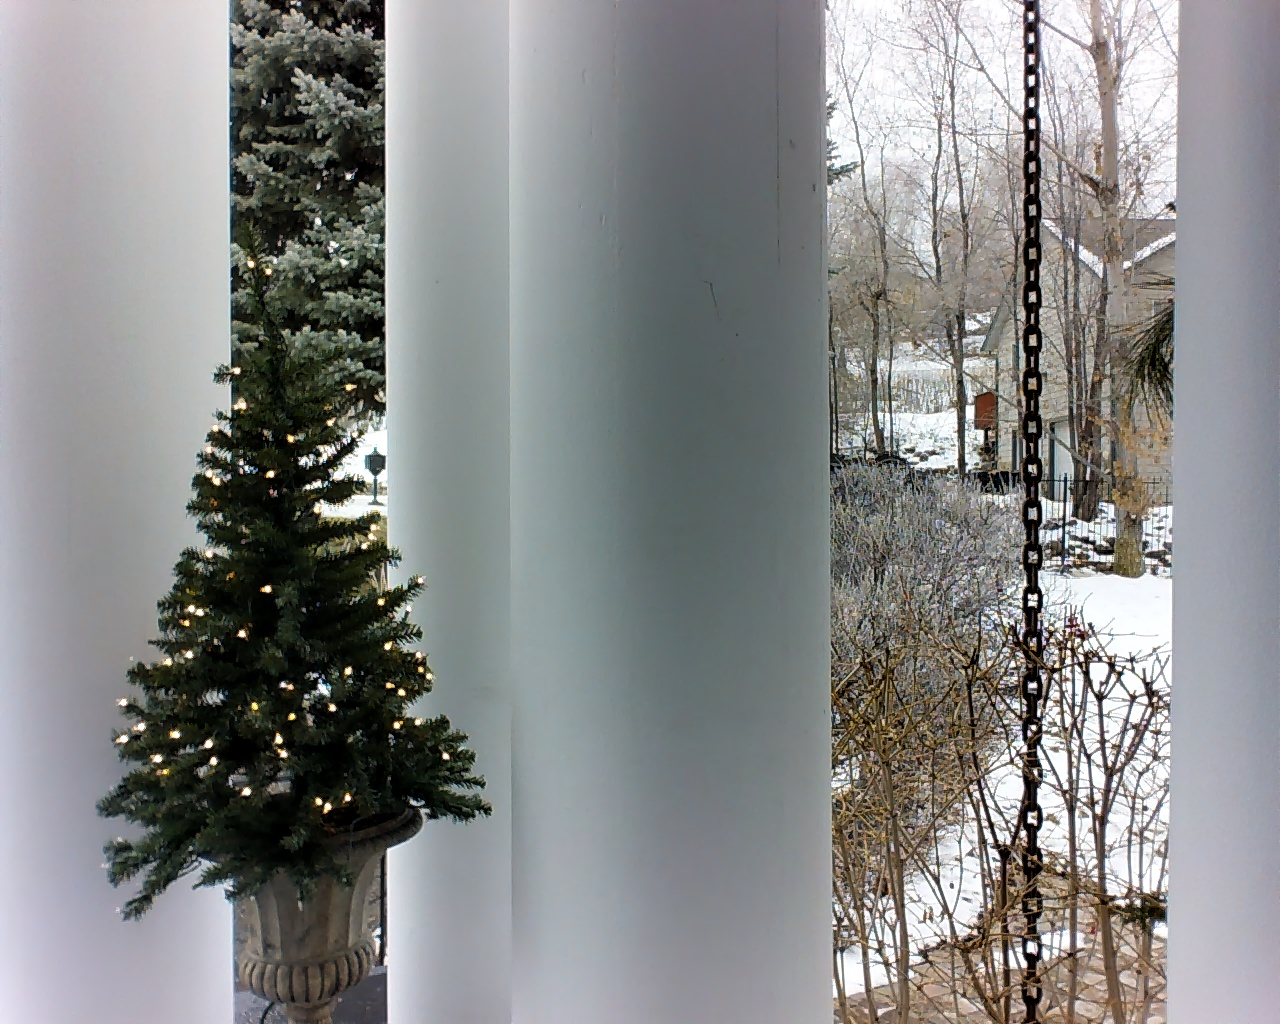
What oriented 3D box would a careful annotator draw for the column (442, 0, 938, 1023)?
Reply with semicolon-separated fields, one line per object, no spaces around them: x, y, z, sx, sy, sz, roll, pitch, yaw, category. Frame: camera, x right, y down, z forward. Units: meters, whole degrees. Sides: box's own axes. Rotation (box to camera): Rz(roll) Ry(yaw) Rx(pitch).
0.030;-0.240;1.790;0.640;2.951;0.660;0;-1;-16;column
